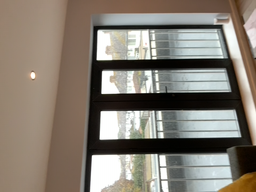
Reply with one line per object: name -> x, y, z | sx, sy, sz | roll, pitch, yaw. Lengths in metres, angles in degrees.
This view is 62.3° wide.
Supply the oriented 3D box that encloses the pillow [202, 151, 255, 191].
pillow -> 0.970, 0.780, 1.620 | 0.650, 0.450, 0.220 | -128, 19, -65
